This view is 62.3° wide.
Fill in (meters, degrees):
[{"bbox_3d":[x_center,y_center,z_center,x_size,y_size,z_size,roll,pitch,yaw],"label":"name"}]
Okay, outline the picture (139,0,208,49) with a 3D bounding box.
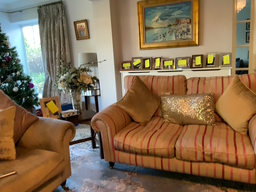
[{"bbox_3d":[0.660,-1.140,3.210,1.020,0.770,0.050,2,12,25],"label":"picture"}]
